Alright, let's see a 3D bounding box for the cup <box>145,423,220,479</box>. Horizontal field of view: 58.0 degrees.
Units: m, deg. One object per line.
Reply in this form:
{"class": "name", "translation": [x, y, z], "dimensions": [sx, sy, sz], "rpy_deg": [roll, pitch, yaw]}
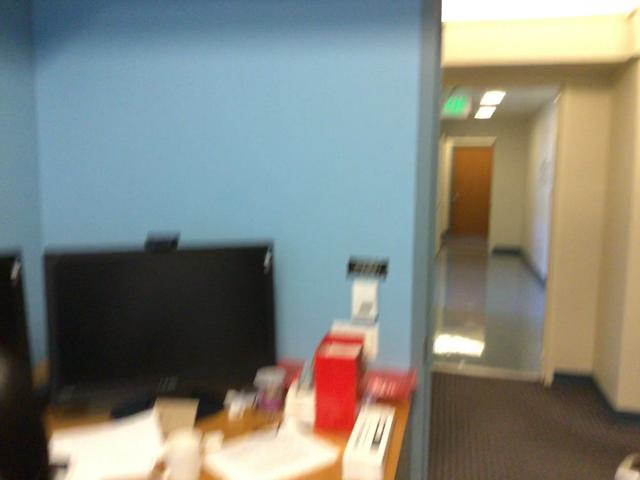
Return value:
{"class": "cup", "translation": [-0.320, 0.510, 1.360], "dimensions": [0.120, 0.090, 0.140], "rpy_deg": [3, 5, 12]}
